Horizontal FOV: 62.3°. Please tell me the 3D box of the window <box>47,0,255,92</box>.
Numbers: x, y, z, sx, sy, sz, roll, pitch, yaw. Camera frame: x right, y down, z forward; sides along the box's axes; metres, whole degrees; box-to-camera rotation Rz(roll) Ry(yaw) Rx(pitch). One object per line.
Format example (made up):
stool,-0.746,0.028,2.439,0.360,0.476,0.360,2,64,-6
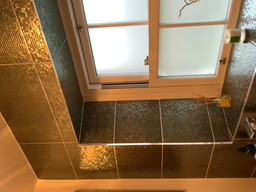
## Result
window,0.140,-0.460,1.300,0.120,1.160,0.970,-87,-6,-51
